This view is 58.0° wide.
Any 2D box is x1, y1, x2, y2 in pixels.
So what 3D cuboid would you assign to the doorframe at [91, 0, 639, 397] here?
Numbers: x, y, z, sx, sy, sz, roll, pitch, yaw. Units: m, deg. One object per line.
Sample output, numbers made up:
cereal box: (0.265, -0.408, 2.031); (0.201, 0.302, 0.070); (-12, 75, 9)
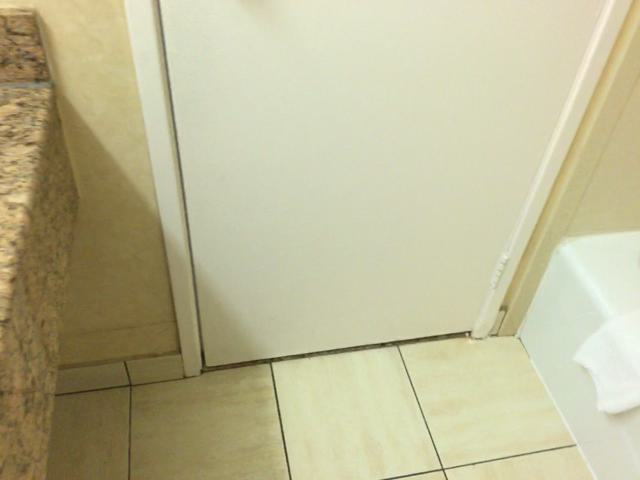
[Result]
doorframe: (0.130, -0.520, 0.680); (0.850, 2.280, 0.060); (-6, 44, -10)
